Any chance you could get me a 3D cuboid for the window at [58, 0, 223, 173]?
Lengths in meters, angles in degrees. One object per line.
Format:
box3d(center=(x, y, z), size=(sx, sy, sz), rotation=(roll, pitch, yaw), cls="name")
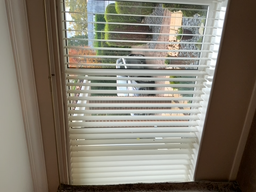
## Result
box3d(center=(0.100, -0.290, 2.200), size=(0.170, 1.480, 2.530), rotation=(-106, 17, -67), cls="window")
